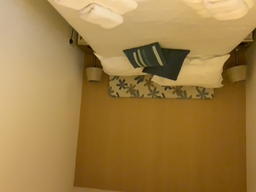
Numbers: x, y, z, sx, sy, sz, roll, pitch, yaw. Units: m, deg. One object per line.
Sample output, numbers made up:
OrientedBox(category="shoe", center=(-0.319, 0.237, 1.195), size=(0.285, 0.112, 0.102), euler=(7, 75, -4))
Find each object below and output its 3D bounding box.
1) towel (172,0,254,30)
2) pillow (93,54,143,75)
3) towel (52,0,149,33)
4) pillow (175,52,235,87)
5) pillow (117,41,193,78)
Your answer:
OrientedBox(category="towel", center=(0.490, -0.530, 1.200), size=(0.350, 0.110, 0.380), euler=(-2, 172, 35))
OrientedBox(category="pillow", center=(-0.110, -0.390, 2.690), size=(0.550, 0.150, 0.420), euler=(1, 173, 10))
OrientedBox(category="towel", center=(-0.170, -0.570, 1.350), size=(0.470, 0.090, 0.390), euler=(8, 172, -41))
OrientedBox(category="pillow", center=(0.880, -0.300, 2.540), size=(0.590, 0.300, 0.490), euler=(1, 173, 10))
OrientedBox(category="pillow", center=(0.290, -0.380, 2.340), size=(0.730, 0.250, 0.550), euler=(2, 174, 8))
